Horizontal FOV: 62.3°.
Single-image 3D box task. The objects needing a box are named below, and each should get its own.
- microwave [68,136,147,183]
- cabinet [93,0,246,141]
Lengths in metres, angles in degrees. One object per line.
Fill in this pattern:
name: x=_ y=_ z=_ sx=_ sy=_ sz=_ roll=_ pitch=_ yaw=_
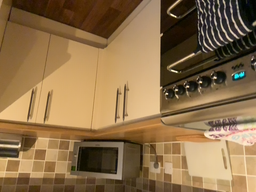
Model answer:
microwave: x=-0.190 y=0.600 z=2.000 sx=0.570 sy=0.360 sz=0.460 roll=12 pitch=161 yaw=-29
cabinet: x=0.240 y=-0.180 z=1.510 sx=0.650 sy=0.900 sz=0.740 roll=12 pitch=161 yaw=-29
